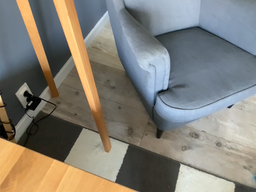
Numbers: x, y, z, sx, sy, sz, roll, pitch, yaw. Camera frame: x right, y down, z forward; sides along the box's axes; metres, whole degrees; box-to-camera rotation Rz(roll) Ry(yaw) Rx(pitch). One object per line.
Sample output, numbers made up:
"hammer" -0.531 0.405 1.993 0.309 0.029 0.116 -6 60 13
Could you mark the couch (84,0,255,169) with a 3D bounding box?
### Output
"couch" 0.310 -0.390 1.070 0.820 0.980 0.940 -18 56 -17
